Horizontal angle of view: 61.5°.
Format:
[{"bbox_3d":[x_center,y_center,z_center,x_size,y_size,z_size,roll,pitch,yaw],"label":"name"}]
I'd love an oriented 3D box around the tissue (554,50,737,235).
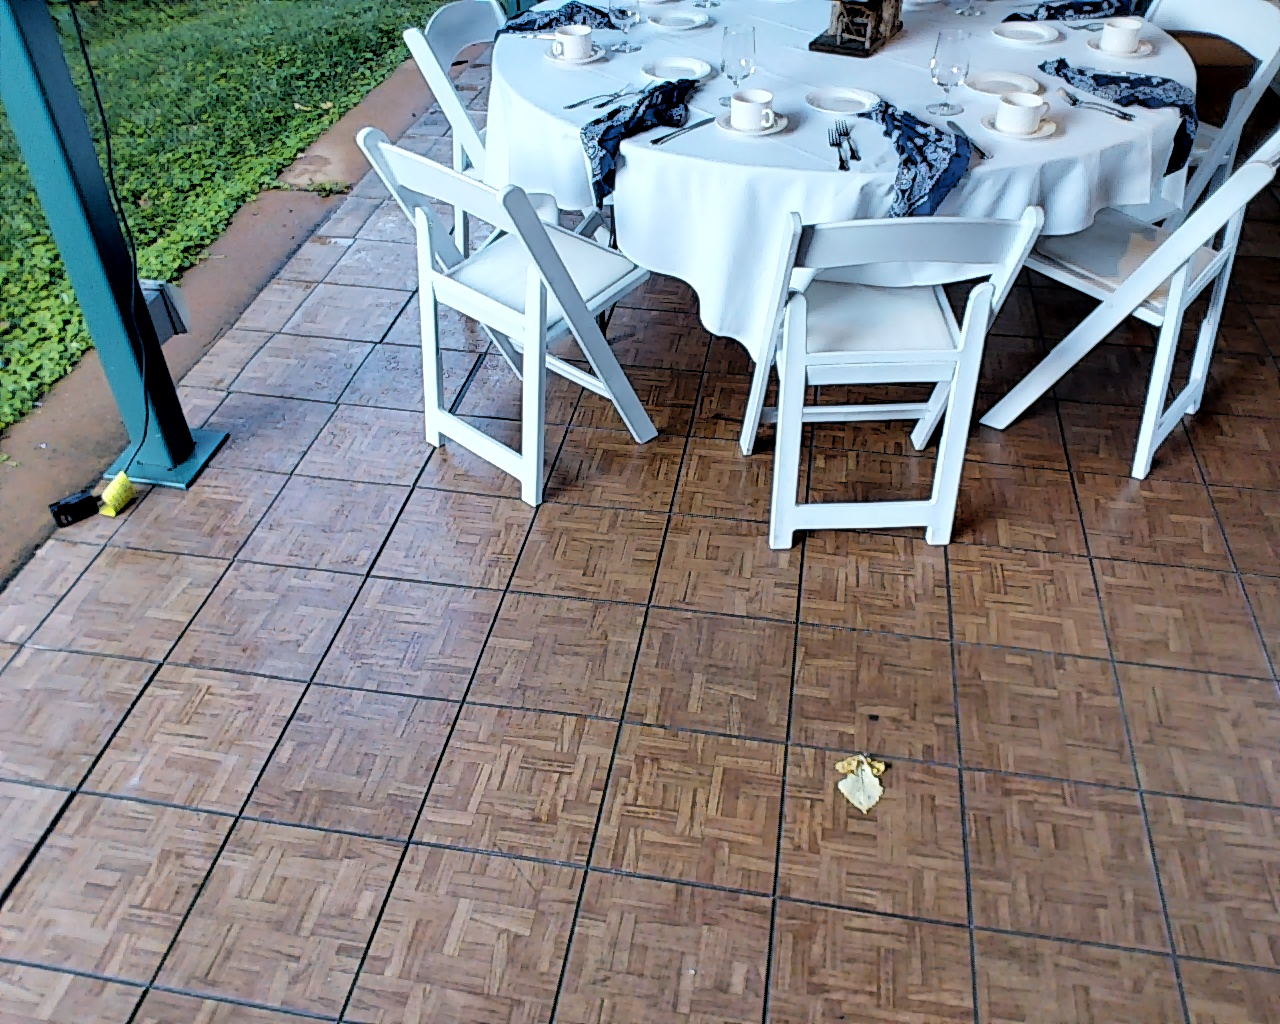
[{"bbox_3d":[0.020,-0.810,2.340,0.150,0.240,0.420,28,48,29],"label":"tissue"}]
